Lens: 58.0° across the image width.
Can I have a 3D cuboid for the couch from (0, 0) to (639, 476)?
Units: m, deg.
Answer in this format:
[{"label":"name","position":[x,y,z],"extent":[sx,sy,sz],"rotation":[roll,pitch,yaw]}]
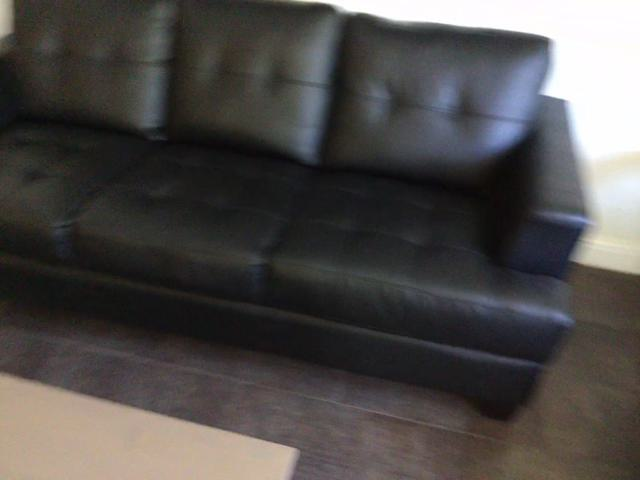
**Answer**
[{"label":"couch","position":[-0.320,-0.240,1.900],"extent":[2.170,0.970,0.970],"rotation":[14,38,9]}]
